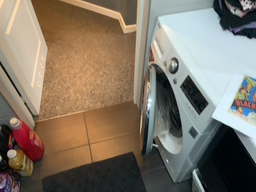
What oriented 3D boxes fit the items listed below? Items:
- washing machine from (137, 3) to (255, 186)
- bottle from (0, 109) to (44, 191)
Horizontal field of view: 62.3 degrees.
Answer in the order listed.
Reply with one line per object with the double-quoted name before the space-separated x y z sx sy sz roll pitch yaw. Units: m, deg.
"washing machine" 0.410 0.040 1.250 0.530 0.850 0.590 -11 53 -9
"bottle" -0.700 0.370 1.320 0.210 0.320 0.450 -6 53 -6
